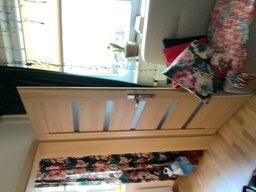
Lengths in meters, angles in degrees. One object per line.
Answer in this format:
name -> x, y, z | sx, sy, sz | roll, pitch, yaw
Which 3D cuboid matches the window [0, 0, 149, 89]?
window -> -0.640, -0.960, 2.340 | 0.210, 1.710, 1.890 | -109, 22, -58
